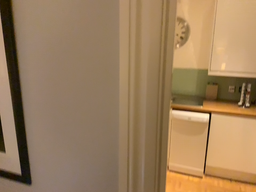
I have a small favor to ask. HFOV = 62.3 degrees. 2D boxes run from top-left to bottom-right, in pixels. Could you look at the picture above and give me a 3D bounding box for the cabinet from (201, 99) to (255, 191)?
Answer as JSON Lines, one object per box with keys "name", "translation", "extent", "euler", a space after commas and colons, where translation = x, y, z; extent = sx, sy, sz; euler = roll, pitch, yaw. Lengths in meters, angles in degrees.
{"name": "cabinet", "translation": [1.380, 0.600, 2.840], "extent": [0.650, 0.930, 0.620], "euler": [6, 15, 20]}
